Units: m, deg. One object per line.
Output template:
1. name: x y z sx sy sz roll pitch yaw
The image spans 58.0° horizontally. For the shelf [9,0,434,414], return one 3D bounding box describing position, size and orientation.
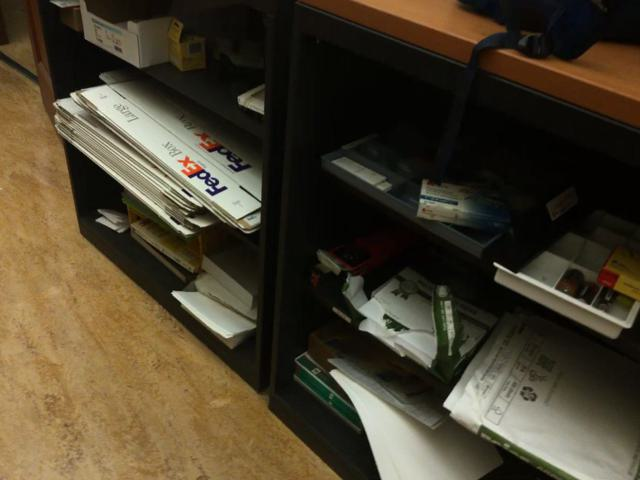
1. shelf: -0.330 -0.310 1.520 1.000 1.040 0.450 33 42 31
